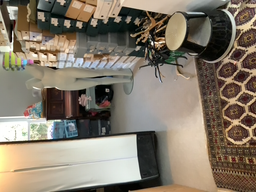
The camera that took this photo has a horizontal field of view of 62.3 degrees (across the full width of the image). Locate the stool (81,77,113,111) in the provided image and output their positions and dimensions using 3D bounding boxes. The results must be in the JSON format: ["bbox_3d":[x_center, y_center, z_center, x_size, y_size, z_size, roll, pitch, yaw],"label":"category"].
[{"bbox_3d":[-0.610,-0.030,4.170,0.350,0.510,0.600,150,117,-63],"label":"stool"}]

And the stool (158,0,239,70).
[{"bbox_3d":[0.510,-0.460,1.610,0.410,0.360,0.400,157,111,-64],"label":"stool"}]

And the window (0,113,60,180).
[{"bbox_3d":[-2.170,1.000,4.370,0.280,1.410,1.230,158,110,-64],"label":"window"}]
